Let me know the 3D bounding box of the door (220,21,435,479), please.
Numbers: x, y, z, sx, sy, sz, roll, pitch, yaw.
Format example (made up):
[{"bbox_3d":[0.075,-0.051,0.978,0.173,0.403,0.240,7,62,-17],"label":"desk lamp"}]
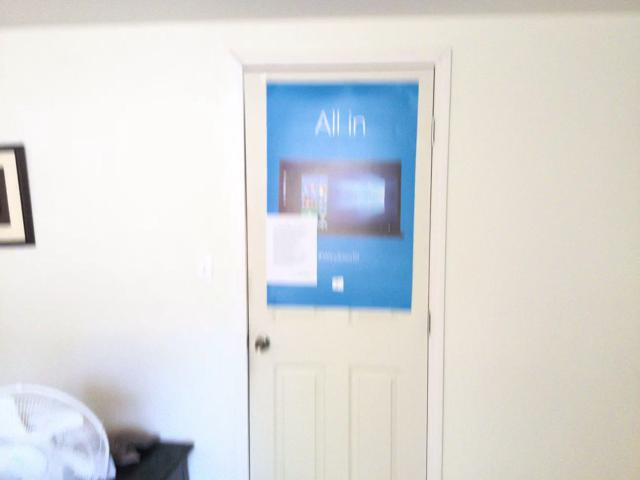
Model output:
[{"bbox_3d":[0.050,0.280,2.350,0.810,2.180,0.150,0,6,9],"label":"door"}]

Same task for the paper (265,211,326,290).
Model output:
[{"bbox_3d":[-0.100,0.040,2.370,0.230,0.310,0.070,2,2,9],"label":"paper"}]
